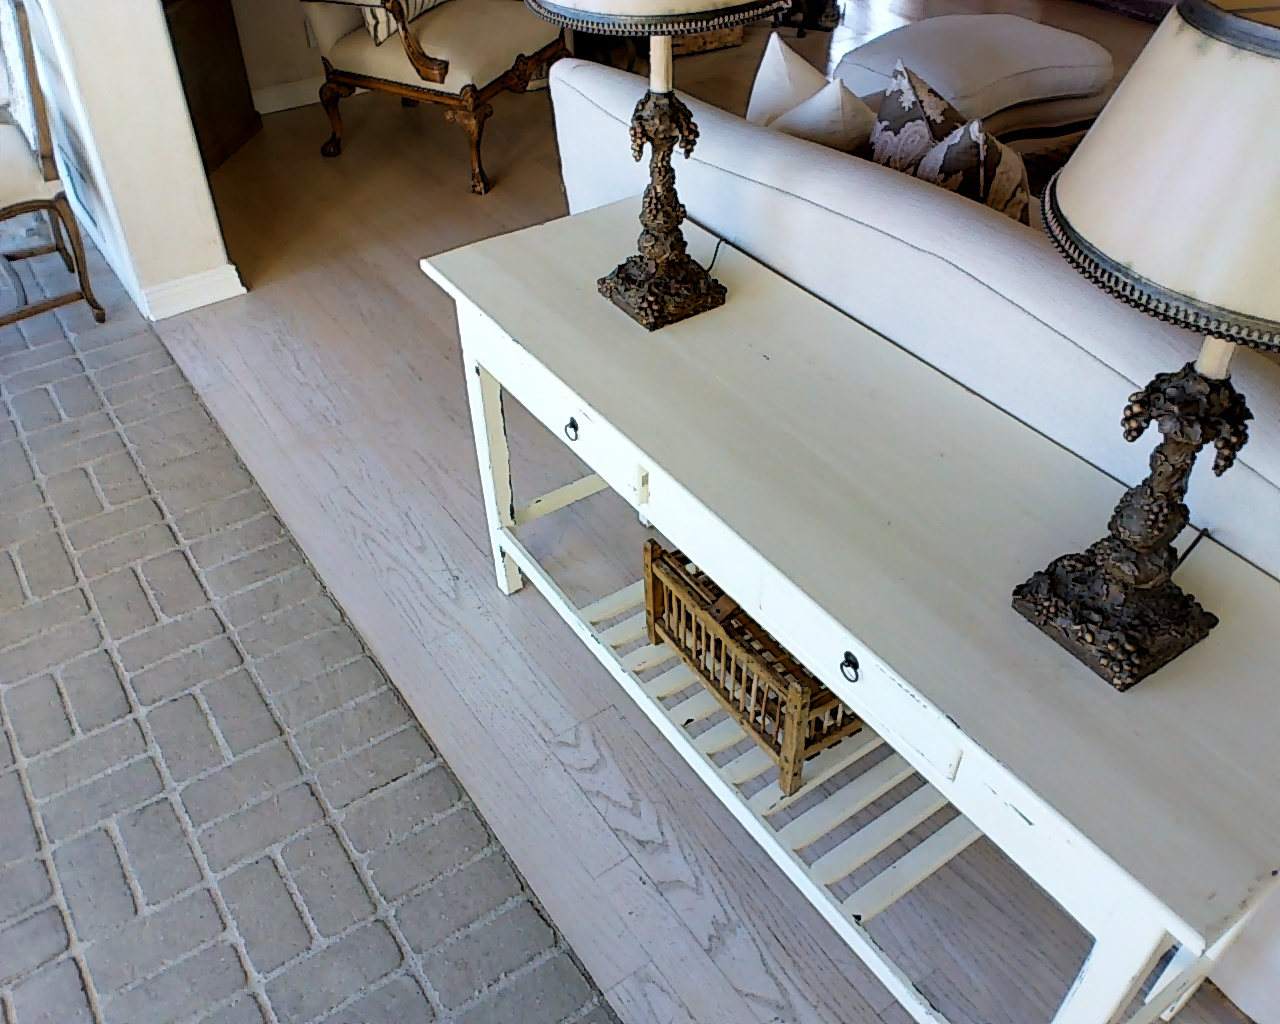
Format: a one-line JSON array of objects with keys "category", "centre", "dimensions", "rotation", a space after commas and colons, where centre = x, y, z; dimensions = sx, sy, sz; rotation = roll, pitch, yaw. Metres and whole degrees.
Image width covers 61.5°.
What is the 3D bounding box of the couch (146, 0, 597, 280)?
[{"category": "couch", "centre": [-0.960, -1.910, 3.980], "dimensions": [1.170, 0.970, 2.370], "rotation": [-8, 41, -9]}]
